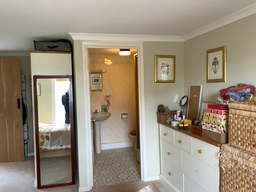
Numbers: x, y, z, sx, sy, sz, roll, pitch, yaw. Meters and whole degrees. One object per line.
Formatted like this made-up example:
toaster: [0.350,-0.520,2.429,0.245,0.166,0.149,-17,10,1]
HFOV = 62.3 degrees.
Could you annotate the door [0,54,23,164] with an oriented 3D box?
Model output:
door: [-2.410,0.250,3.980,0.680,2.030,0.140,-2,3,-6]

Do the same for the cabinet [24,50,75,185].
cabinet: [-1.350,0.270,3.770,0.590,1.880,1.590,-3,3,-18]
